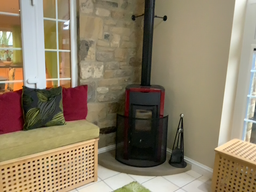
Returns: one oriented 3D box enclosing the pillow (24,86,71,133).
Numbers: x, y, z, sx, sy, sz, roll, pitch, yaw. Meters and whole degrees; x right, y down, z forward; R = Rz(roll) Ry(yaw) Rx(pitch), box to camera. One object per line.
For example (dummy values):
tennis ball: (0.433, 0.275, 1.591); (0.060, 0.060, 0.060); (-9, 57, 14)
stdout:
pillow: (-0.840, 0.130, 2.220); (0.390, 0.430, 0.140); (-7, 0, -37)

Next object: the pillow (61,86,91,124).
pillow: (-0.610, 0.100, 2.500); (0.310, 0.400, 0.130); (-6, 14, -38)

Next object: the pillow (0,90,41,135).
pillow: (-1.110, 0.150, 2.070); (0.430, 0.390, 0.150); (-6, 5, -37)
